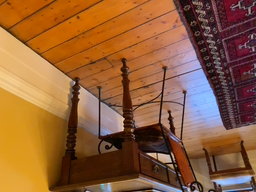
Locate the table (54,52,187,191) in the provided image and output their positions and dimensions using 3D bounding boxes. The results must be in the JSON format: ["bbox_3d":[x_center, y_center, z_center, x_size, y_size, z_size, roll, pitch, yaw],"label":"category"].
[{"bbox_3d":[0.020,0.330,1.690,0.510,0.770,1.010,-17,146,22],"label":"table"}]
